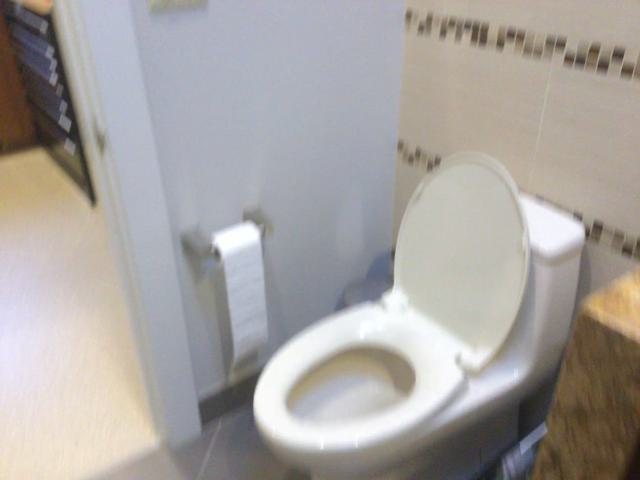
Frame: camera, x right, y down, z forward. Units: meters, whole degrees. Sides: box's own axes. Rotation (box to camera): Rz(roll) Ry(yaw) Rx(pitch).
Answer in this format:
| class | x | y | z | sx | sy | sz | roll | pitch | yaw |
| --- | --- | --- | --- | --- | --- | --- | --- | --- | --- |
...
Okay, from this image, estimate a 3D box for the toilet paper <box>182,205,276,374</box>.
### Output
| class | x | y | z | sx | sy | sz | roll | pitch | yaw |
| --- | --- | --- | --- | --- | --- | --- | --- | --- | --- |
| toilet paper | -0.210 | 0.120 | 1.380 | 0.150 | 0.360 | 0.120 | -22 | 37 | -32 |
